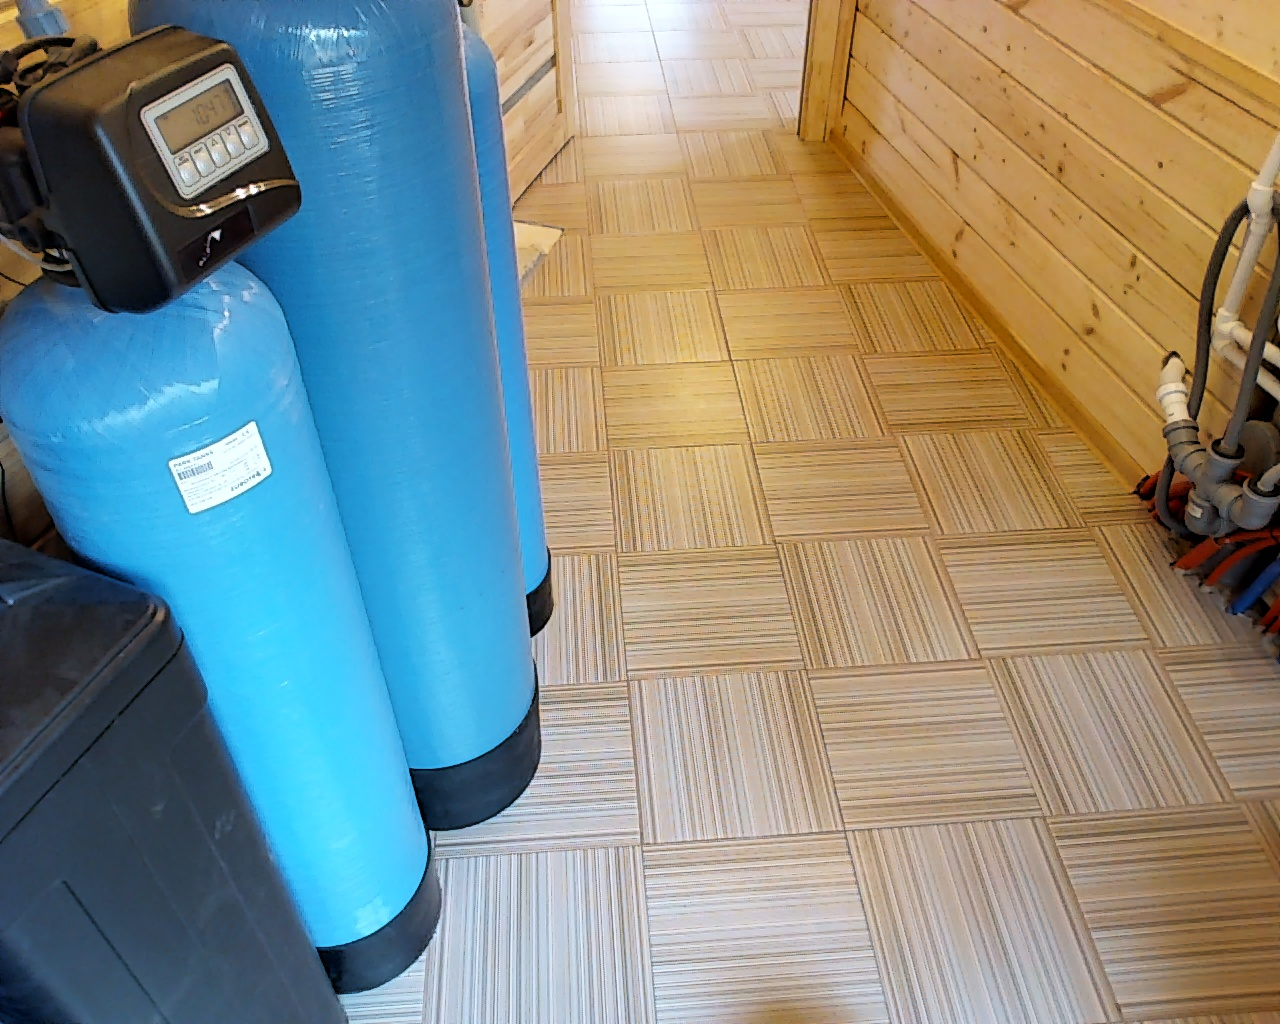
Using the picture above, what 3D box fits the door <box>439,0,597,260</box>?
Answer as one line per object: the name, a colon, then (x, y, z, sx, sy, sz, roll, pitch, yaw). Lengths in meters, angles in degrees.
door: (-0.330, -1.780, 2.720, 0.060, 2.100, 0.840, 14, 45, 15)
